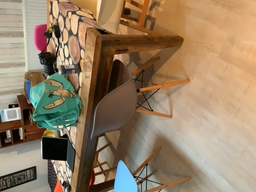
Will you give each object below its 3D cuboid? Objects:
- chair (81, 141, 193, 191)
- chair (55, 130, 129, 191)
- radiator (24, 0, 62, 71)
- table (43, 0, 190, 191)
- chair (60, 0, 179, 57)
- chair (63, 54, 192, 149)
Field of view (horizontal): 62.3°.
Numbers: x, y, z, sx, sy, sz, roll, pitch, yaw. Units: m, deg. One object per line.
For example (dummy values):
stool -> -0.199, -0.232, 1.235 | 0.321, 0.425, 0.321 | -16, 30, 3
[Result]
chair -> 0.050, 0.820, 1.820 | 0.510, 0.730, 0.460 | 46, 134, 40
chair -> -0.490, 0.930, 2.700 | 0.610, 0.680, 0.580 | 45, 134, 41
radiator -> -1.360, -1.180, 3.440 | 0.100, 0.540, 1.620 | 44, 133, 41
table -> -0.300, 0.110, 2.110 | 0.960, 0.760, 1.810 | 46, 134, 40
chair -> -0.090, -0.720, 1.660 | 0.610, 0.660, 0.550 | 51, 137, 36
chair -> -0.020, -0.020, 1.630 | 0.510, 0.790, 0.380 | 46, 134, 40
